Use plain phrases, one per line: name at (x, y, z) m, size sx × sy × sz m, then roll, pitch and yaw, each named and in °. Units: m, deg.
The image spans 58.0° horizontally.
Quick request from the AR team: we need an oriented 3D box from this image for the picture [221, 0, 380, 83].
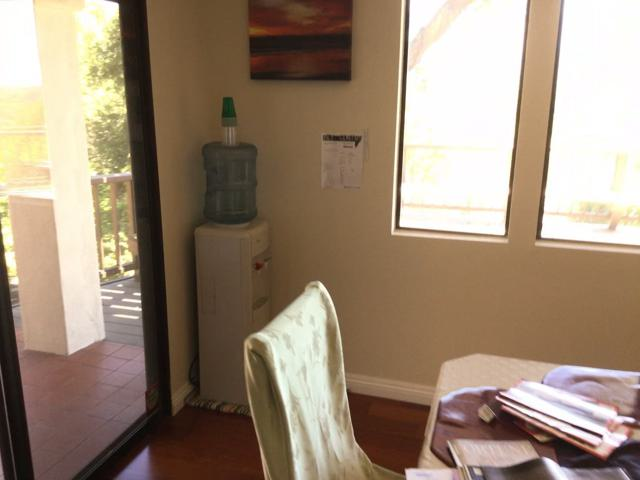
picture at (-0.100, -1.010, 2.750) m, size 0.730 × 0.440 × 0.130 m, roll 0°, pitch 13°, yaw 21°
